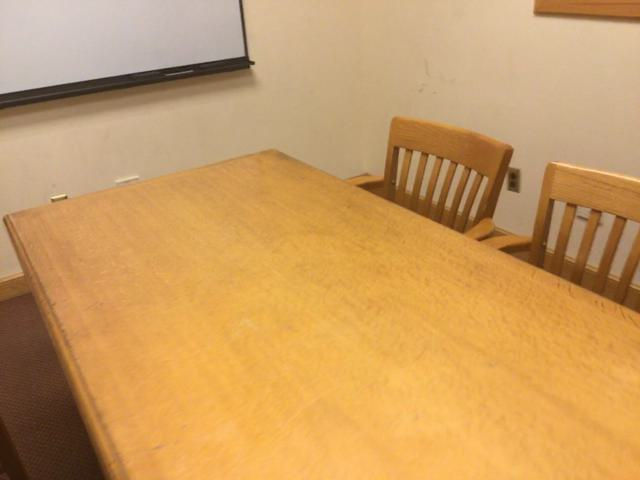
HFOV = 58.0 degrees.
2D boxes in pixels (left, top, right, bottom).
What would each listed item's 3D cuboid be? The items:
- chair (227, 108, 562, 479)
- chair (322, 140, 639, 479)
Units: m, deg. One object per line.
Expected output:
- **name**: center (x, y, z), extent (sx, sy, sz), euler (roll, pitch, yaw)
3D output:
- **chair**: center (0.200, 0.130, 1.760), extent (0.660, 0.850, 0.620), euler (-19, 30, -29)
- **chair**: center (0.500, 0.310, 1.370), extent (0.660, 0.830, 0.730), euler (-19, 30, -29)
